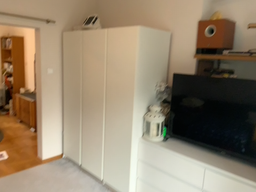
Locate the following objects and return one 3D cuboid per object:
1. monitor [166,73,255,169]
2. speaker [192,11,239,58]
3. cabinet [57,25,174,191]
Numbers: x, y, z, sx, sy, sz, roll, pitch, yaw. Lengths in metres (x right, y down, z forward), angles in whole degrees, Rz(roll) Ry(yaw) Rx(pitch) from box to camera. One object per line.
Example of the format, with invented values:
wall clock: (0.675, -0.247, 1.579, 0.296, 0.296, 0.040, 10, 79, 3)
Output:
monitor: (0.920, 0.210, 2.010, 0.050, 0.750, 1.250, -7, 15, -44)
speaker: (0.960, -0.650, 2.340, 0.390, 0.440, 0.290, -6, 14, -41)
cabinet: (-0.300, 0.120, 3.090, 1.580, 2.020, 0.740, 13, 14, 43)
